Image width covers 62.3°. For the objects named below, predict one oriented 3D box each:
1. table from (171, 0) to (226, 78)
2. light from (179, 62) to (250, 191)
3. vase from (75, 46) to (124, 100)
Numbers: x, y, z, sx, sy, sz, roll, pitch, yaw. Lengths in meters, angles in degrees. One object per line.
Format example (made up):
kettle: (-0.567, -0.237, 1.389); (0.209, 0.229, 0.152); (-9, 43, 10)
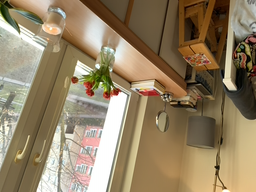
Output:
table: (0.630, -0.530, 1.810); (0.240, 0.570, 0.520); (-2, 158, 38)
light: (0.800, 0.490, 1.910); (0.410, 1.490, 0.450); (-4, 156, 41)
vase: (-0.180, -0.140, 1.370); (0.190, 0.280, 0.170); (-4, 156, 41)
